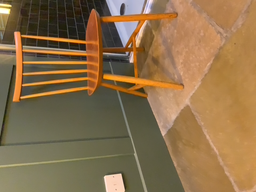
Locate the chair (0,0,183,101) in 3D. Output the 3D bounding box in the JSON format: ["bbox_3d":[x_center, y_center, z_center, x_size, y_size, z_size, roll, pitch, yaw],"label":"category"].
[{"bbox_3d":[-0.200,-0.210,1.150,0.490,0.800,0.410,157,112,-68],"label":"chair"}]
